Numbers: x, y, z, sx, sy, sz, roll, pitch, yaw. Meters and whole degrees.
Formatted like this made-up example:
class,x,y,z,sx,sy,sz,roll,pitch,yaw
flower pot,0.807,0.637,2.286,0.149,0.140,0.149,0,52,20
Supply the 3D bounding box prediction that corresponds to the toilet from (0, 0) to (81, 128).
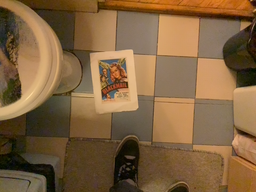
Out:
class,x,y,z,sx,sy,sz,roll,pitch,yaw
toilet,-0.550,-0.140,0.780,0.660,0.420,0.420,3,91,-4
